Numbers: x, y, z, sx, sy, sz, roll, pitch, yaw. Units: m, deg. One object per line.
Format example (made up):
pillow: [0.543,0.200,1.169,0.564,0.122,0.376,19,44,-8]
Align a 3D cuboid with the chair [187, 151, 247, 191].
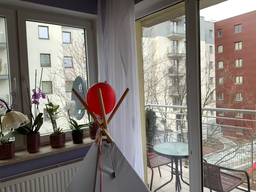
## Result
chair: [1.020,1.030,2.430,0.490,0.590,0.450,-5,5,-39]
